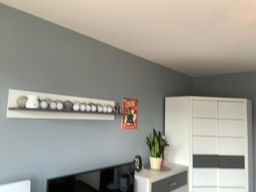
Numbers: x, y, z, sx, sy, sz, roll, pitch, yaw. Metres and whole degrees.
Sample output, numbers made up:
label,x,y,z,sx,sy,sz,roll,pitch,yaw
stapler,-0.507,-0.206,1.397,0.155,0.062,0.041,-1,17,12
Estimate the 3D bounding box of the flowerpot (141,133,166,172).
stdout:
label,x,y,z,sx,sy,sz,roll,pitch,yaw
flowerpot,0.360,0.780,2.990,0.240,0.480,0.240,-4,-8,41
